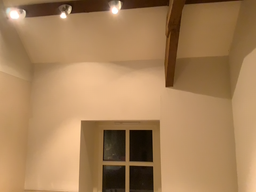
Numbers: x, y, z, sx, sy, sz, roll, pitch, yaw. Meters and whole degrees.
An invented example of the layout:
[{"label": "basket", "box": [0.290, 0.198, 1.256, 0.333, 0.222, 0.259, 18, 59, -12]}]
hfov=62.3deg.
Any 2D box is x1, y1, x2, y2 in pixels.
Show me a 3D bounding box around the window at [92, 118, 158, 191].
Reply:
[{"label": "window", "box": [-0.050, 0.860, 2.730, 0.830, 1.120, 0.050, -2, -9, 9]}]
